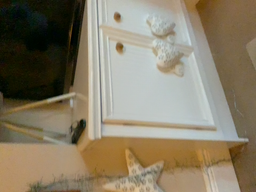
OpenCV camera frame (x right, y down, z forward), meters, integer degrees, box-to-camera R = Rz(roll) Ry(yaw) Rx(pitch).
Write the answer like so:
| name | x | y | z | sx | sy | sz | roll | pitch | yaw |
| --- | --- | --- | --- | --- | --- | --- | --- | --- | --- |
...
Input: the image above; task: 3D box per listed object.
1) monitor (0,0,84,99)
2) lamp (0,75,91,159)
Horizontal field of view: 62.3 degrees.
| name | x | y | z | sx | sy | sz | roll | pitch | yaw |
| --- | --- | --- | --- | --- | --- | --- | --- | --- | --- |
| monitor | -0.560 | -0.430 | 1.230 | 0.070 | 0.570 | 0.890 | -143 | 58 | -68 |
| lamp | -0.570 | 0.120 | 1.080 | 0.310 | 0.690 | 0.320 | 131 | 139 | -52 |
